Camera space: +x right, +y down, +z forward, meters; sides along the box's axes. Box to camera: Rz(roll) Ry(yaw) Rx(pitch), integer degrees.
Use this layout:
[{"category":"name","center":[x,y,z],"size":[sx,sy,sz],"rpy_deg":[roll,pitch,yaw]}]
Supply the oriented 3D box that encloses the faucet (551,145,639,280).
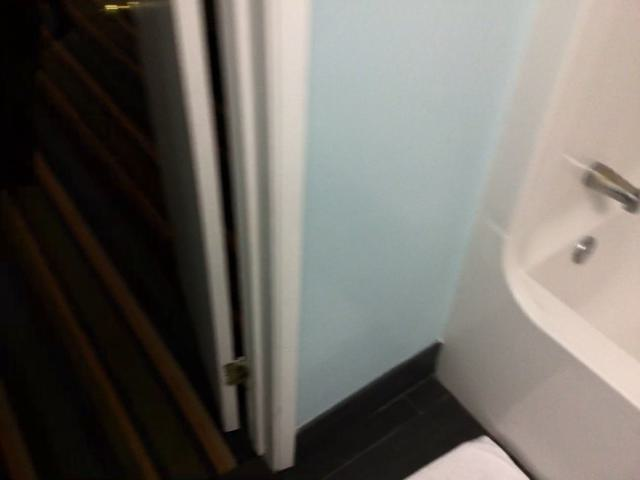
[{"category":"faucet","center":[0.750,-0.070,1.470],"size":[0.200,0.260,0.140],"rpy_deg":[-24,49,-28]}]
